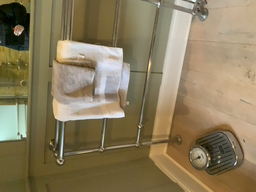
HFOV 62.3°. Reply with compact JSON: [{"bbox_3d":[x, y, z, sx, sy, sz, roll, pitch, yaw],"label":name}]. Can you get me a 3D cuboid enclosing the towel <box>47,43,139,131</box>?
[{"bbox_3d":[-0.230,-0.070,1.330,0.280,0.470,0.460,25,112,57],"label":"towel"}]
